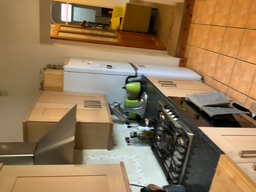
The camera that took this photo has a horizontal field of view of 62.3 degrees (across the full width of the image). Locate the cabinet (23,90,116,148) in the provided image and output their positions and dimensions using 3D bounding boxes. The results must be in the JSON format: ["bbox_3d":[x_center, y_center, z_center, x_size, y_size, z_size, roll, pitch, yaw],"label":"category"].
[{"bbox_3d":[-0.600,0.220,2.320,0.800,0.810,0.270,-119,35,-66],"label":"cabinet"}]

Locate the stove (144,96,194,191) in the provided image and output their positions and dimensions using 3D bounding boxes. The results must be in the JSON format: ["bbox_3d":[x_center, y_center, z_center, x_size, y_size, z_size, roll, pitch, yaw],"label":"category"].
[{"bbox_3d":[0.310,0.380,1.850,0.720,0.060,0.540,-119,35,-66],"label":"stove"}]

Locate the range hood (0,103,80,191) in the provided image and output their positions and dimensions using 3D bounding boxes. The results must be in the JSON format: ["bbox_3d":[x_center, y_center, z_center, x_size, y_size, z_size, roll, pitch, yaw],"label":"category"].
[{"bbox_3d":[-0.780,0.360,1.590,0.530,0.790,0.410,-118,34,-66],"label":"range hood"}]

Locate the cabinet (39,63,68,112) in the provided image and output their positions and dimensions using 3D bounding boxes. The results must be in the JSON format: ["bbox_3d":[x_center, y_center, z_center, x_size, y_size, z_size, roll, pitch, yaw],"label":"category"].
[{"bbox_3d":[-0.990,-0.140,2.870,0.630,0.280,0.470,-119,35,-66],"label":"cabinet"}]
